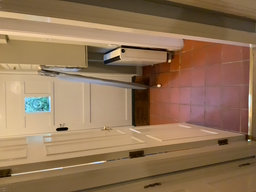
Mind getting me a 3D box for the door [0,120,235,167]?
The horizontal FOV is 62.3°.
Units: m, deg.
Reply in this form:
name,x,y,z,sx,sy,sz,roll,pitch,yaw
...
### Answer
name,x,y,z,sx,sy,sz,roll,pitch,yaw
door,-0.130,0.320,1.730,0.740,1.950,0.050,180,89,-65
